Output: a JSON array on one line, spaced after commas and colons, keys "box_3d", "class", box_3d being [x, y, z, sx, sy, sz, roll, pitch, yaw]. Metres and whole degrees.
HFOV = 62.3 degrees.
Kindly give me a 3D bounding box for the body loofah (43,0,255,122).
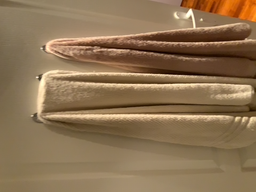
[{"box_3d": [0.300, -0.130, 0.760, 0.140, 1.080, 0.410, 139, 133, -68], "class": "body loofah"}]
